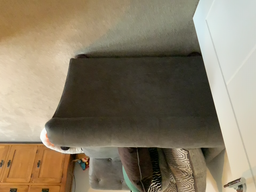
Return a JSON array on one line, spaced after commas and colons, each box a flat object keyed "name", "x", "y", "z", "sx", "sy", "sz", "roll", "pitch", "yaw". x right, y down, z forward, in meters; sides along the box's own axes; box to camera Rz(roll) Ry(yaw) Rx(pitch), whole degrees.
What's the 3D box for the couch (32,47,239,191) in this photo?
[{"name": "couch", "x": 0.040, "y": 0.400, "z": 2.000, "sx": 1.090, "sy": 0.740, "sz": 1.620, "roll": 0, "pitch": 148, "yaw": 0}]
